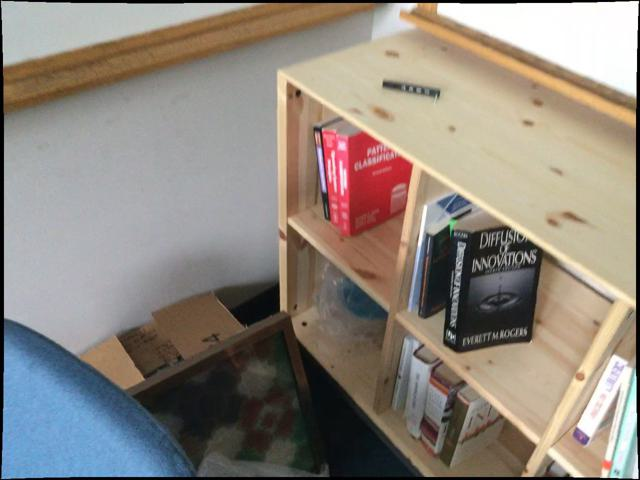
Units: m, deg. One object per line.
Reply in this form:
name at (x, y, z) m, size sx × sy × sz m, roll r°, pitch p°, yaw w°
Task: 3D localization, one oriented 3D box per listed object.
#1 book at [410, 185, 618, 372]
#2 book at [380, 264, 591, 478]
book at (0.369, 0.060, 1.100) m, size 0.370 × 0.140 × 0.160 m, roll -28°, pitch 52°, yaw -27°
book at (0.359, 0.281, 1.290) m, size 0.370 × 0.230 × 0.230 m, roll -28°, pitch 52°, yaw -27°
